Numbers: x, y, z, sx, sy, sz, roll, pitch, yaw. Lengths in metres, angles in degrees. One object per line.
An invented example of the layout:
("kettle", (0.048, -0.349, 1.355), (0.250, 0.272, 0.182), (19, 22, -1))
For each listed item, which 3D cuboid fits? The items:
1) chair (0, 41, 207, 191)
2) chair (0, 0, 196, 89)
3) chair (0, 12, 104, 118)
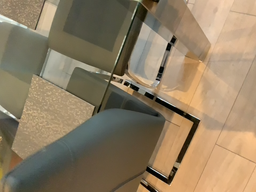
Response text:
("chair", (-0.140, 0.180, 0.830), (0.560, 1.040, 0.460), (31, 101, 26))
("chair", (-0.130, -0.420, 0.870), (0.450, 1.020, 0.580), (25, 99, 27))
("chair", (-0.720, -0.210, 1.170), (0.580, 1.020, 0.420), (32, 102, 26))
